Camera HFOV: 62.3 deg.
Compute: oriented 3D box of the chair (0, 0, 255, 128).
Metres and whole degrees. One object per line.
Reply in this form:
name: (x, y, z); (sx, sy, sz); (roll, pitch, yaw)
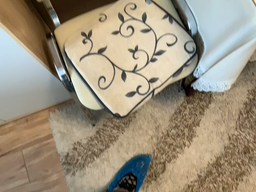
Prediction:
chair: (-0.050, -0.260, 0.840); (0.490, 0.810, 0.570); (-20, 78, -4)
